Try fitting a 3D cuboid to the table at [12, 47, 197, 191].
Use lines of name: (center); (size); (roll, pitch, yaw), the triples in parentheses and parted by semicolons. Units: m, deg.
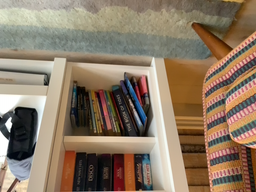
table: (-0.080, 0.170, 0.790); (0.440, 0.540, 0.400); (2, 145, -7)
